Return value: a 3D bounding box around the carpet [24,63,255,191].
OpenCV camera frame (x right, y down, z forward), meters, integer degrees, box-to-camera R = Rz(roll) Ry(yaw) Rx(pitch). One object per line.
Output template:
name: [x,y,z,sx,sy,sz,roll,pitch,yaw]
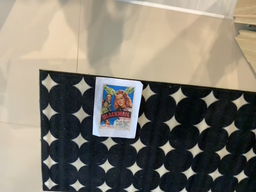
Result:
carpet: [0.280,0.230,1.090,1.460,0.100,0.720,2,112,-3]
